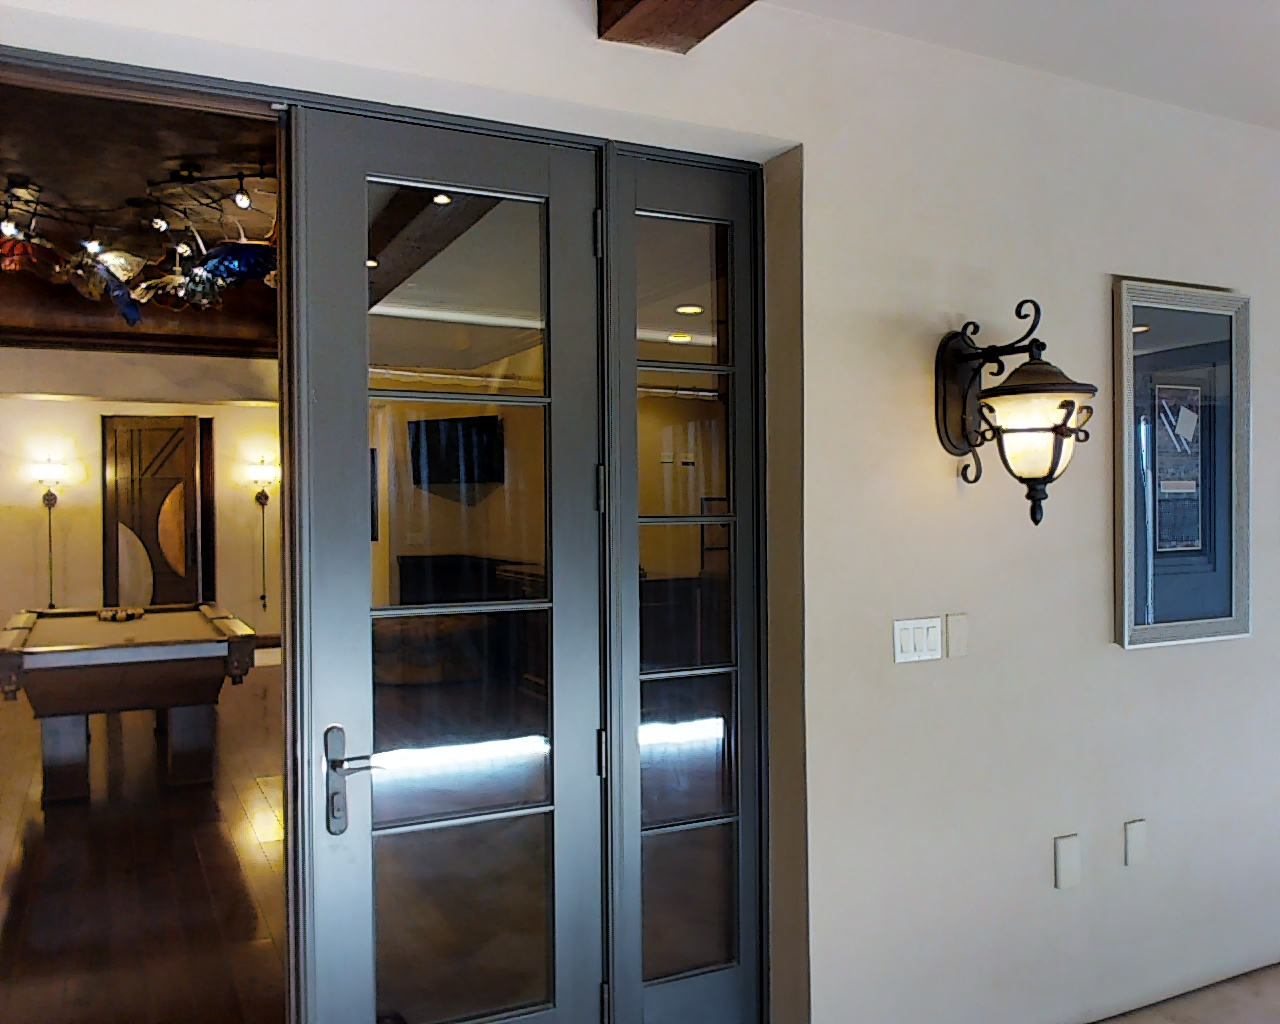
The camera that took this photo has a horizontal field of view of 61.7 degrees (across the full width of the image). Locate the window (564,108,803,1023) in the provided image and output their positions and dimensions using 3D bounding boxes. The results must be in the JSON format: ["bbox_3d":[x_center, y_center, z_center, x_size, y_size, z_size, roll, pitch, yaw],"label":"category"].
[{"bbox_3d":[0.110,0.240,2.800,0.500,2.380,0.370,-1,1,-26],"label":"window"}]
